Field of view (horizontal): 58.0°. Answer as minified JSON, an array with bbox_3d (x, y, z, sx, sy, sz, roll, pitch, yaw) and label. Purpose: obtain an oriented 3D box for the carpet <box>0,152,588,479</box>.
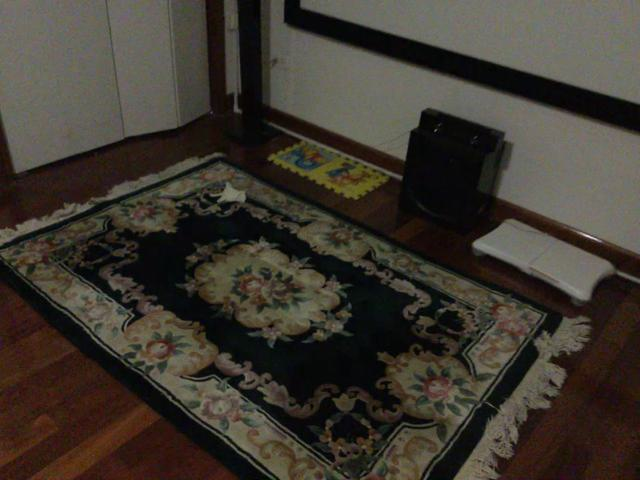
[{"bbox_3d":[-0.180,0.190,2.090,1.890,0.060,1.230,27,39,29],"label":"carpet"}]
